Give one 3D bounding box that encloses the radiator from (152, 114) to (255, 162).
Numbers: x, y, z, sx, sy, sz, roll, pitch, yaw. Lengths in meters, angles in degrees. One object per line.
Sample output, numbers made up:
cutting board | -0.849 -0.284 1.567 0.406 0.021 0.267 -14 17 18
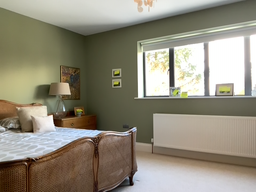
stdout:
radiator | 1.250 0.640 3.480 1.800 0.620 0.120 0 0 31
